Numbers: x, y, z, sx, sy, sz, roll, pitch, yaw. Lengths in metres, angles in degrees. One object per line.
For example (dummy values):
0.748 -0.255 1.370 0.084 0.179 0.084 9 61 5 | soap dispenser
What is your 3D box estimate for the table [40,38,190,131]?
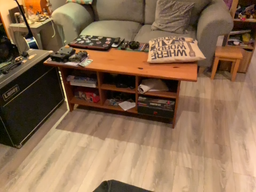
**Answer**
-0.080 -0.150 1.970 1.180 0.510 0.550 8 36 14 | table
